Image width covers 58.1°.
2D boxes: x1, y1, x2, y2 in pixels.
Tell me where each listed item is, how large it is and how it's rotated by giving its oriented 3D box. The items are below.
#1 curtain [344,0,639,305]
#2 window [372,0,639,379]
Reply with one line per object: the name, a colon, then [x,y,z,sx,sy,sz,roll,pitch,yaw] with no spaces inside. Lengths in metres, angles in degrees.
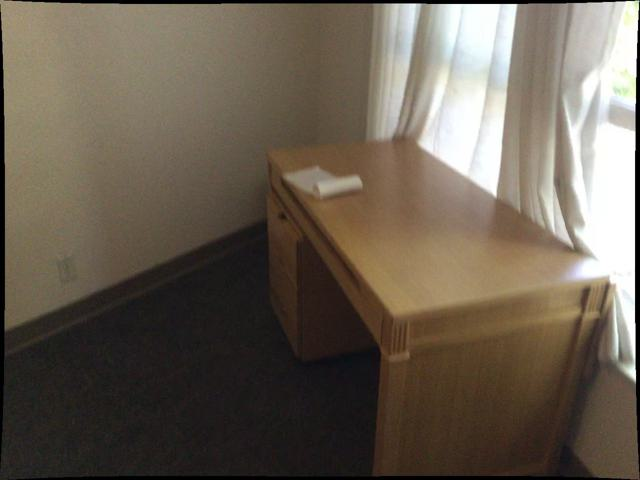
curtain: [0.489,-0.761,1.870,0.260,1.362,1.410,-11,31,-18]
window: [0.669,-0.541,1.640,0.230,1.402,1.740,-12,30,-20]
